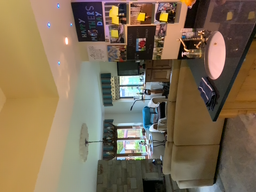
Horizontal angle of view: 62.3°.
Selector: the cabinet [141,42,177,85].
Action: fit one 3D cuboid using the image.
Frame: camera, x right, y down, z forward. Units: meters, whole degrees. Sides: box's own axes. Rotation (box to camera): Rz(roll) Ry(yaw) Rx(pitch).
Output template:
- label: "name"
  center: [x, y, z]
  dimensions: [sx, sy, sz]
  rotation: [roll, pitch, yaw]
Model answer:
- label: "cabinet"
  center: [0.890, -0.960, 6.420]
  dimensions: [1.190, 0.890, 0.530]
  rotation: [91, 176, -45]
